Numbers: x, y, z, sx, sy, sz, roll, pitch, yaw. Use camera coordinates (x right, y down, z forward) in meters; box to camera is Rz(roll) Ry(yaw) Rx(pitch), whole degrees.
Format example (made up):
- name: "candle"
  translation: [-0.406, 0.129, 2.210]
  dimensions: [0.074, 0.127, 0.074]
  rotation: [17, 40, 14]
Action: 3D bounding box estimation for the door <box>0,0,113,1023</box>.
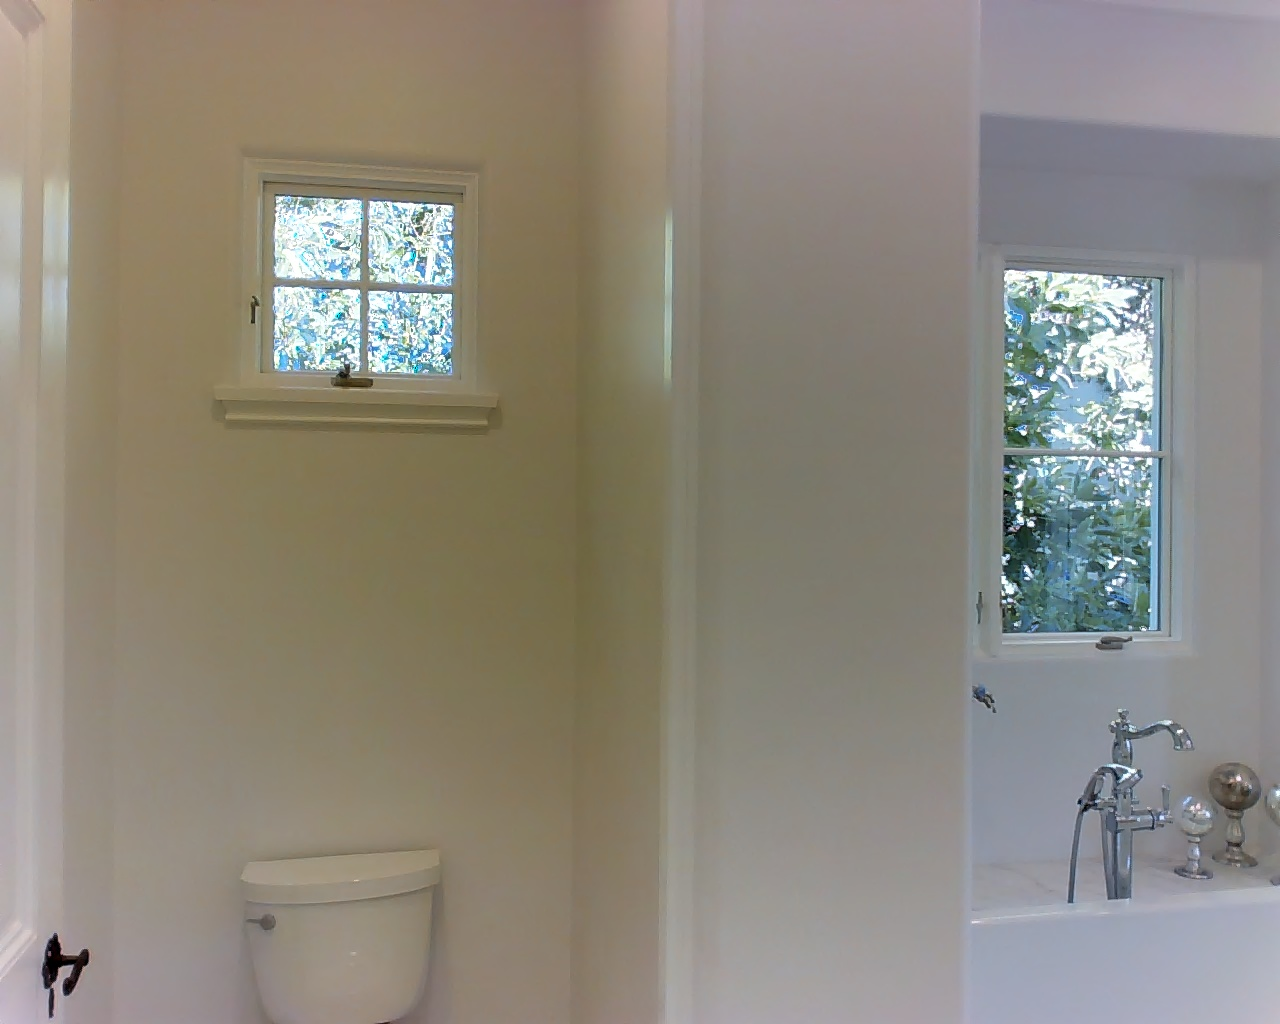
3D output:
- name: "door"
  translation: [-0.810, 0.390, 1.320]
  dimensions: [0.050, 2.471, 0.880]
  rotation: [1, 0, -12]
